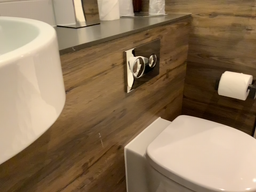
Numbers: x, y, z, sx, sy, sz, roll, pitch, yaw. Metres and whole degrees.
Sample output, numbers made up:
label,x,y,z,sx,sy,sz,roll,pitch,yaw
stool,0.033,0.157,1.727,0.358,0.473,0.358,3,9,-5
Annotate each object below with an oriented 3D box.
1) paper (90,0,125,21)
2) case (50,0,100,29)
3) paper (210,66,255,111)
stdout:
label,x,y,z,sx,sy,sz,roll,pitch,yaw
paper,-0.090,-0.400,0.940,0.090,0.110,0.120,21,35,38
case,-0.200,-0.360,0.800,0.100,0.180,0.150,16,32,31
paper,0.470,-0.040,0.940,0.140,0.120,0.160,18,33,34
